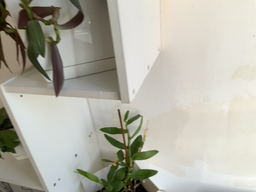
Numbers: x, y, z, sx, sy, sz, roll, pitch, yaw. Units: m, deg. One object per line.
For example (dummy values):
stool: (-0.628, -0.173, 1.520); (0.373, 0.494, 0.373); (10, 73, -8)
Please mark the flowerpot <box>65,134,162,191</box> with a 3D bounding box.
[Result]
flowerpot: (-0.020, 0.380, 0.810); (0.260, 0.360, 0.250); (4, 31, 17)
